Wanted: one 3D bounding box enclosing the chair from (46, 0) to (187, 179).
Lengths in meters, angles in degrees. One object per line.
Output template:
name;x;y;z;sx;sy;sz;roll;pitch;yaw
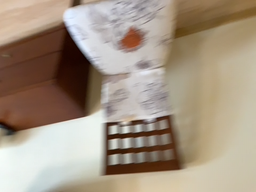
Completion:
chair;-0.010;-0.170;1.090;0.400;0.980;0.530;-8;144;7
